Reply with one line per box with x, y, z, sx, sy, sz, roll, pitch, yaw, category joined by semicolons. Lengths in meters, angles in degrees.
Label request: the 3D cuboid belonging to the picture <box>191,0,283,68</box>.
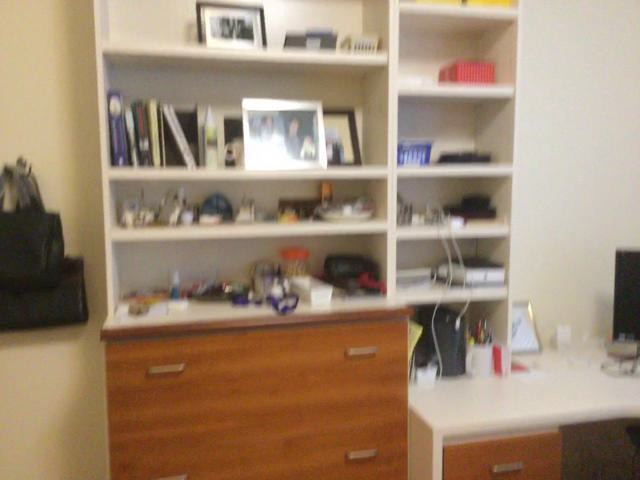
-0.270;-0.670;1.850;0.260;0.180;0.220;-3;6;-15;picture

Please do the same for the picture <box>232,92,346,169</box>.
-0.110;-0.350;1.900;0.320;0.220;0.270;-3;6;-15;picture

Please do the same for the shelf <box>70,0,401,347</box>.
-0.250;-0.330;1.860;0.940;1.190;0.370;-3;6;-15;shelf
